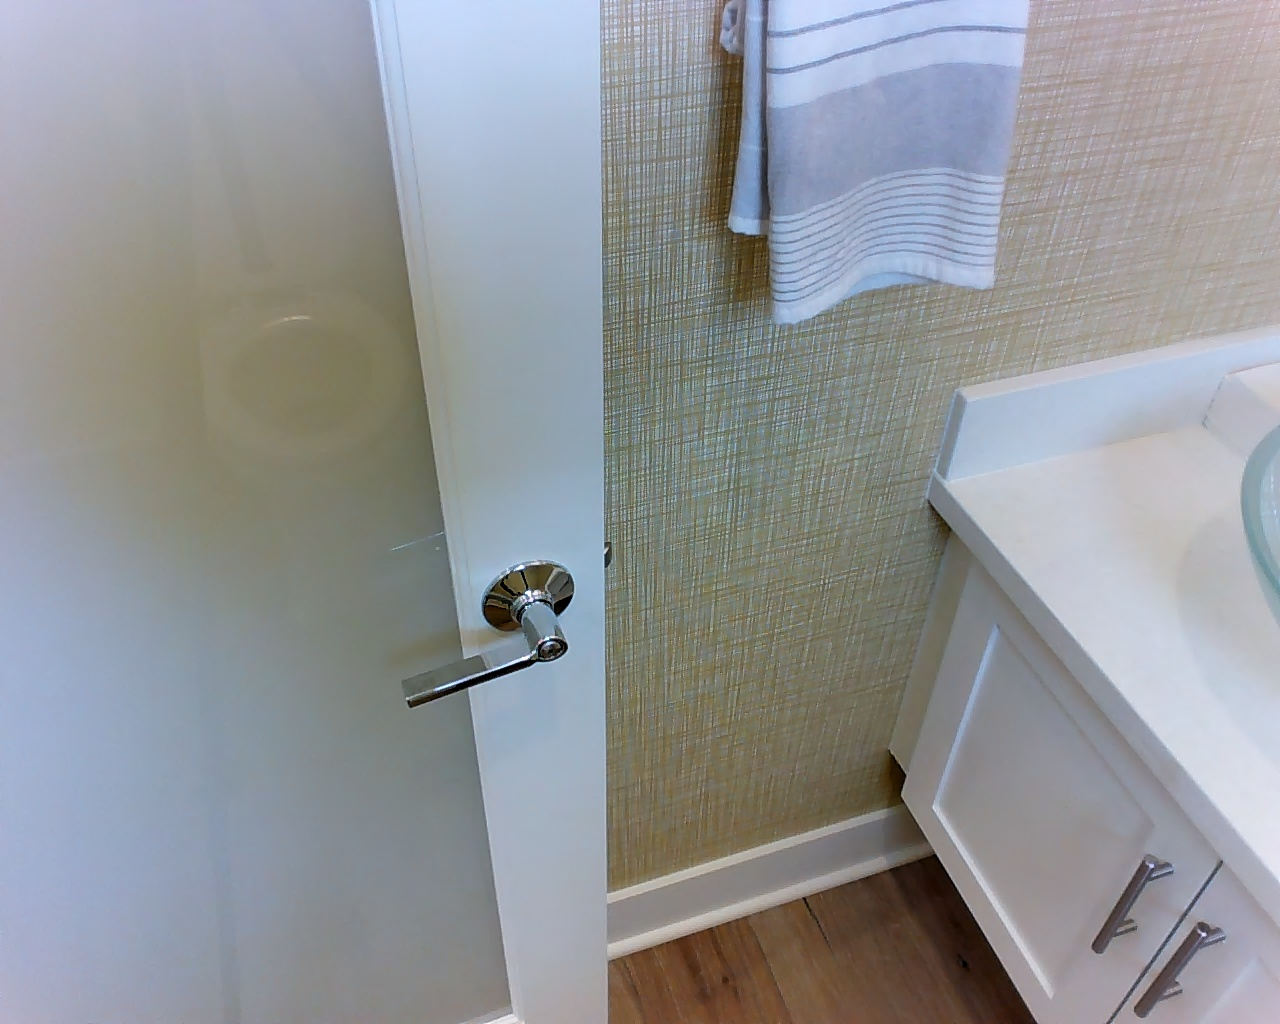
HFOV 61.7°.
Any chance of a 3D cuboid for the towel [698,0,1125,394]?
[{"bbox_3d":[0.160,-0.260,0.710,0.180,0.280,0.180,-13,44,-14],"label":"towel"}]
